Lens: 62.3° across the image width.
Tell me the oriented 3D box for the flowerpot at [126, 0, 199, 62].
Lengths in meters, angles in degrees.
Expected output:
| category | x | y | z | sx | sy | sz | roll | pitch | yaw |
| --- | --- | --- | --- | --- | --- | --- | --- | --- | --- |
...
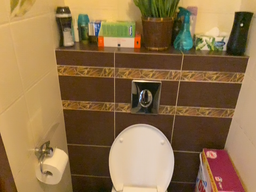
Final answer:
| category | x | y | z | sx | sy | sz | roll | pitch | yaw |
| --- | --- | --- | --- | --- | --- | --- | --- | --- | --- |
| flowerpot | 0.150 | -0.410 | 1.030 | 0.300 | 0.420 | 0.230 | 2 | 27 | -1 |
